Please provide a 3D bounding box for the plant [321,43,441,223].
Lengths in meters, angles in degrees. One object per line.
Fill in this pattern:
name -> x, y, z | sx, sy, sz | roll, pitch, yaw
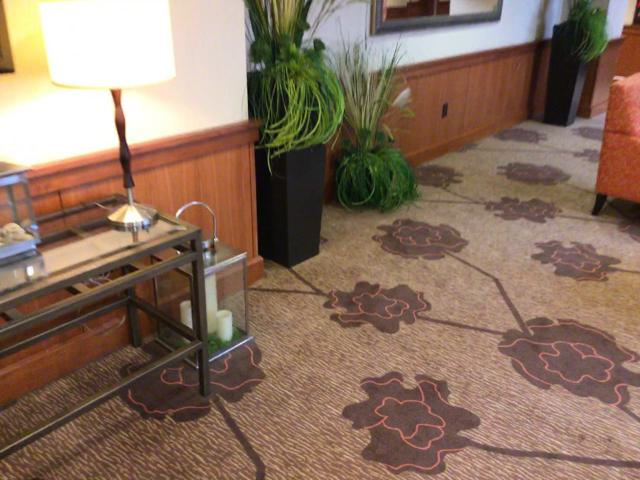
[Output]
plant -> 0.400, -0.730, 3.810 | 0.500, 1.030, 0.600 | 16, 28, 36

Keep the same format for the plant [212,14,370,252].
plant -> -0.110, -0.530, 2.850 | 0.320, 1.020, 0.560 | 7, 24, 40

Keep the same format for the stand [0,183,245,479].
stand -> -1.120, 0.390, 1.690 | 0.660, 0.670, 1.690 | 7, 24, 40

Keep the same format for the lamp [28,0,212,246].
lamp -> -0.600, -0.410, 1.800 | 0.320, 0.730, 0.330 | 19, 31, 36
